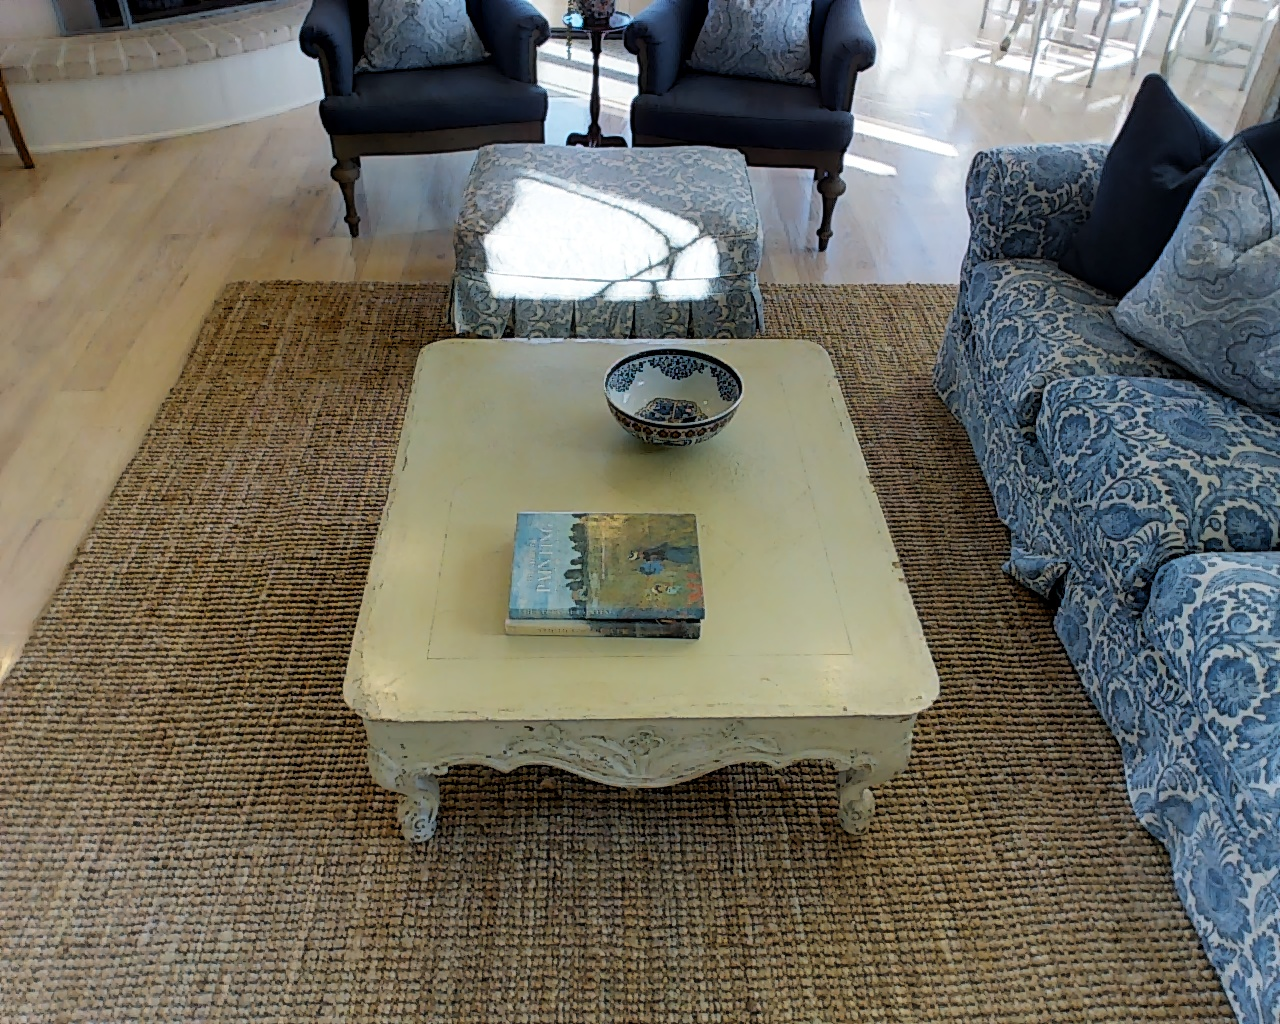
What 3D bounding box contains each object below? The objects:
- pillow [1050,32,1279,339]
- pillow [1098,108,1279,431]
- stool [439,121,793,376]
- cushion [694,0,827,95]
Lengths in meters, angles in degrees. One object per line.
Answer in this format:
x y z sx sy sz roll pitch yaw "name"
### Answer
1.260 -0.730 2.400 0.340 0.430 0.420 -28 57 -23 "pillow"
1.220 -0.480 2.130 0.250 0.440 0.390 -28 54 -25 "pillow"
-0.070 -0.800 3.200 0.910 0.450 0.740 0 40 -1 "stool"
0.420 -1.700 3.650 0.400 0.420 0.320 9 40 9 "cushion"
